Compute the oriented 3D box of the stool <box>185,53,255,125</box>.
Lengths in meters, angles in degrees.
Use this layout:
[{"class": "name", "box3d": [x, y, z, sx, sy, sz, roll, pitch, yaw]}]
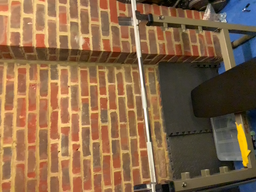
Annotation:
[{"class": "stool", "box3d": [0.820, -0.020, 1.370, 0.790, 0.490, 0.280, 138, 128, -66]}]
